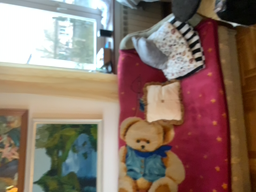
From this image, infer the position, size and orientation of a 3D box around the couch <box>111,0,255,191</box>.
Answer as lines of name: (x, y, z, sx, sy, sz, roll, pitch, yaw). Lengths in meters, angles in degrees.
couch: (0.410, 0.390, 2.050, 1.160, 0.820, 2.210, 153, 118, -65)
